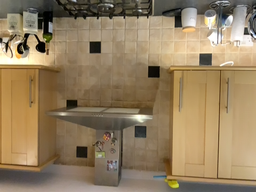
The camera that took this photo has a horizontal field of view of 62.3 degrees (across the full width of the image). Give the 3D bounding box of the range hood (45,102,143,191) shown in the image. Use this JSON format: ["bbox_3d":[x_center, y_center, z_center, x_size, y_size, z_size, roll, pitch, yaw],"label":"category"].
[{"bbox_3d":[-0.210,0.380,1.560,0.600,0.620,0.450,2,-178,7],"label":"range hood"}]
